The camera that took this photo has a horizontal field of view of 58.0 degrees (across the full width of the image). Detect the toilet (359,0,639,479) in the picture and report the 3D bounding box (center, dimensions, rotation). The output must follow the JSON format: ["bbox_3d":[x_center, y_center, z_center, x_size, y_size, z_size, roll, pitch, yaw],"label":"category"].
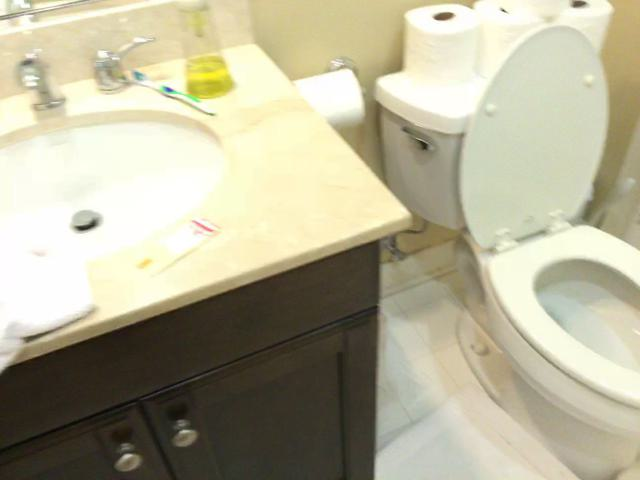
[{"bbox_3d":[0.480,0.030,1.170,0.490,0.810,0.750,-19,43,-14],"label":"toilet"}]

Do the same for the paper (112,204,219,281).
[{"bbox_3d":[-0.170,0.000,0.640,0.060,0.010,0.100,29,52,33],"label":"paper"}]

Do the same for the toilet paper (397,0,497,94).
[{"bbox_3d":[0.240,-0.380,1.120,0.140,0.120,0.120,-19,43,-14],"label":"toilet paper"}]
